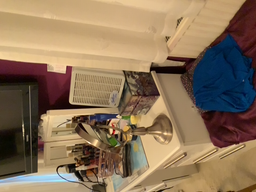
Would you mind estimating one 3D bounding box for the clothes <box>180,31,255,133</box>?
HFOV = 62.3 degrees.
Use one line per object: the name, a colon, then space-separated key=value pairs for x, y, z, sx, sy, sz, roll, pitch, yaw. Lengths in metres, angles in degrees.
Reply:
clothes: x=0.380 y=-0.050 z=0.890 sx=0.290 sy=0.080 sz=0.310 roll=122 pitch=140 yaw=-50
